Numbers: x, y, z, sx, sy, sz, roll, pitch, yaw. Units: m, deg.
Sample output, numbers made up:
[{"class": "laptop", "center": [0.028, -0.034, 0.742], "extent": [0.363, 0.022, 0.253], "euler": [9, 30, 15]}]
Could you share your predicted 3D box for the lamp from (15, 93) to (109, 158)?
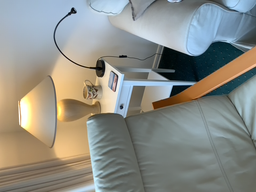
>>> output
[{"class": "lamp", "center": [-0.430, 0.160, 1.370], "extent": [0.270, 0.510, 0.270], "euler": [39, 123, 51]}]

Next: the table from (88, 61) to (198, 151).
[{"class": "table", "center": [0.100, 0.050, 1.650], "extent": [0.380, 0.670, 0.520], "euler": [38, 123, 52]}]
